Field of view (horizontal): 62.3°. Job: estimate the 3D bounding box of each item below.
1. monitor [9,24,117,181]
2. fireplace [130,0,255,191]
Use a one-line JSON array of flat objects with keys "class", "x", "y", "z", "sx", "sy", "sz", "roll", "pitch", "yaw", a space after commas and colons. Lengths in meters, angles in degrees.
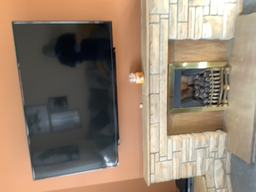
[{"class": "monitor", "x": -0.470, "y": 0.060, "z": 1.720, "sx": 0.060, "sy": 0.730, "sz": 1.210, "roll": -146, "pitch": 53, "yaw": -70}, {"class": "fireplace", "x": 0.560, "y": -0.060, "z": 2.010, "sx": 0.800, "sy": 0.900, "sz": 1.780, "roll": -133, "pitch": 41, "yaw": -73}]
